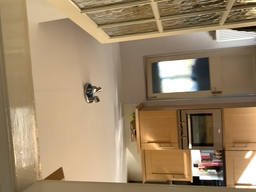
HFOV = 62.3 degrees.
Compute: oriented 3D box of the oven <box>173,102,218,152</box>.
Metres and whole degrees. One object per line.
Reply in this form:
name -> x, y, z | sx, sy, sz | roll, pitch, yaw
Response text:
oven -> 1.040, 0.460, 3.350 | 0.610, 0.600, 0.640 | -18, -75, -76
